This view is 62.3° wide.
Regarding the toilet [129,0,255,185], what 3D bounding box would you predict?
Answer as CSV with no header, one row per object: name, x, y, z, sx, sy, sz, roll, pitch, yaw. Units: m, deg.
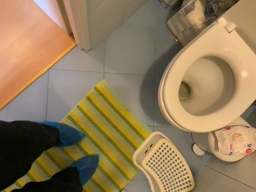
toilet,0.440,-0.080,0.930,0.640,0.760,0.420,-44,93,-9
